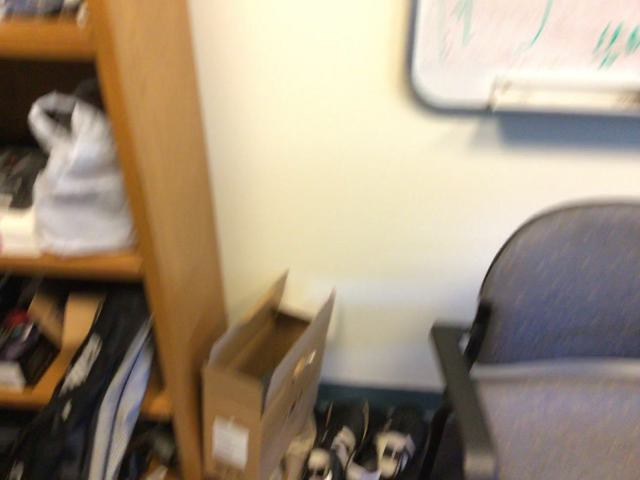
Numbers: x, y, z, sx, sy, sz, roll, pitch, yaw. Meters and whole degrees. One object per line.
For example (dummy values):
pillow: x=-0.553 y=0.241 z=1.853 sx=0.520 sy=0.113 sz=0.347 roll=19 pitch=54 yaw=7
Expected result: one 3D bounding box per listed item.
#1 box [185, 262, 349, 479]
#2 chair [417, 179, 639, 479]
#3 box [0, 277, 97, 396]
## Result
box: x=-0.090 y=0.300 z=1.240 sx=0.190 sy=0.360 sz=0.320 roll=13 pitch=35 yaw=22
chair: x=0.480 y=0.240 z=0.820 sx=0.630 sy=0.450 sz=0.510 roll=2 pitch=32 yaw=6
box: x=-0.580 y=0.190 z=1.170 sx=0.150 sy=0.130 sz=0.200 roll=2 pitch=32 yaw=6
